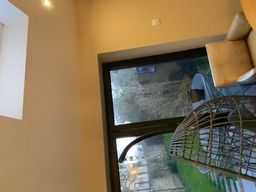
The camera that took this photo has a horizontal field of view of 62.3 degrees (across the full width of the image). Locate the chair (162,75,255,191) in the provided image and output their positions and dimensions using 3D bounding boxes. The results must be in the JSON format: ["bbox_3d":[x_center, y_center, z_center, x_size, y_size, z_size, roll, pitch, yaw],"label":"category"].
[{"bbox_3d":[0.910,0.460,1.750,0.880,1.070,0.950,73,-171,-68],"label":"chair"}]

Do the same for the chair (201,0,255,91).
[{"bbox_3d":[1.280,-0.510,2.090,0.640,0.840,0.630,72,-169,-71],"label":"chair"}]
